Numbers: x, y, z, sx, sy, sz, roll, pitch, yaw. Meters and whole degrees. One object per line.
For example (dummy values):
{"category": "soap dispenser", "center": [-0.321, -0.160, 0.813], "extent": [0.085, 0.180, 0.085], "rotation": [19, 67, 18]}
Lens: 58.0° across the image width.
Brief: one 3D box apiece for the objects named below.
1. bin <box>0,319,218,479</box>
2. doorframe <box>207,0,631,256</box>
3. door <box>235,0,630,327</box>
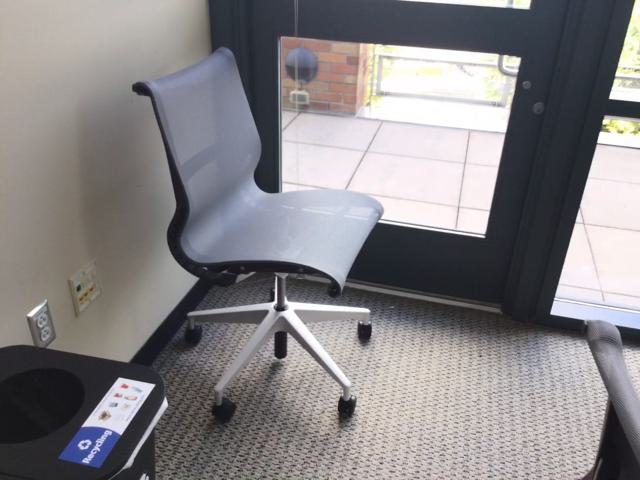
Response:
{"category": "bin", "center": [-0.490, 0.520, 1.200], "extent": [0.410, 0.530, 0.380], "rotation": [7, 29, 12]}
{"category": "doorframe", "center": [0.260, -1.000, 1.600], "extent": [1.210, 2.130, 0.190], "rotation": [7, 29, 12]}
{"category": "door", "center": [0.310, -0.780, 1.760], "extent": [1.140, 2.220, 0.210], "rotation": [7, 29, 12]}
